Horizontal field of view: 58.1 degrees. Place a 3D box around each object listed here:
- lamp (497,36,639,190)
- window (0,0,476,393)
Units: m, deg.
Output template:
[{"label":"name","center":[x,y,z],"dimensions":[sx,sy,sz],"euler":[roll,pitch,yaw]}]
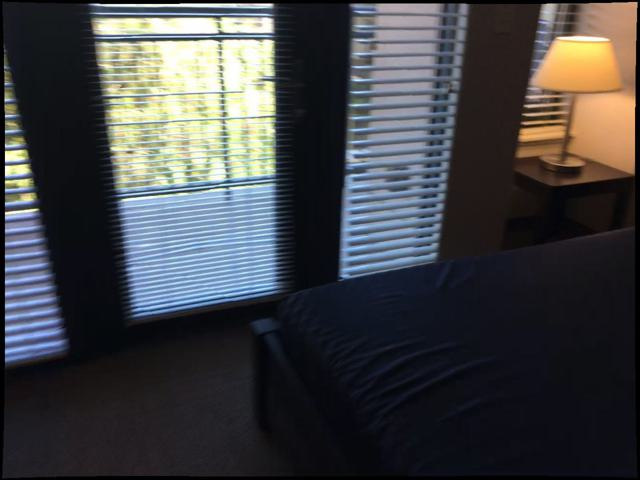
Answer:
[{"label":"lamp","center":[1.127,-0.592,2.630],"dimensions":[0.389,0.591,0.350],"euler":[-10,29,-21]},{"label":"window","center":[-0.439,-0.551,1.840],"dimensions":[2.006,2.004,0.270],"euler":[-10,29,-21]}]
